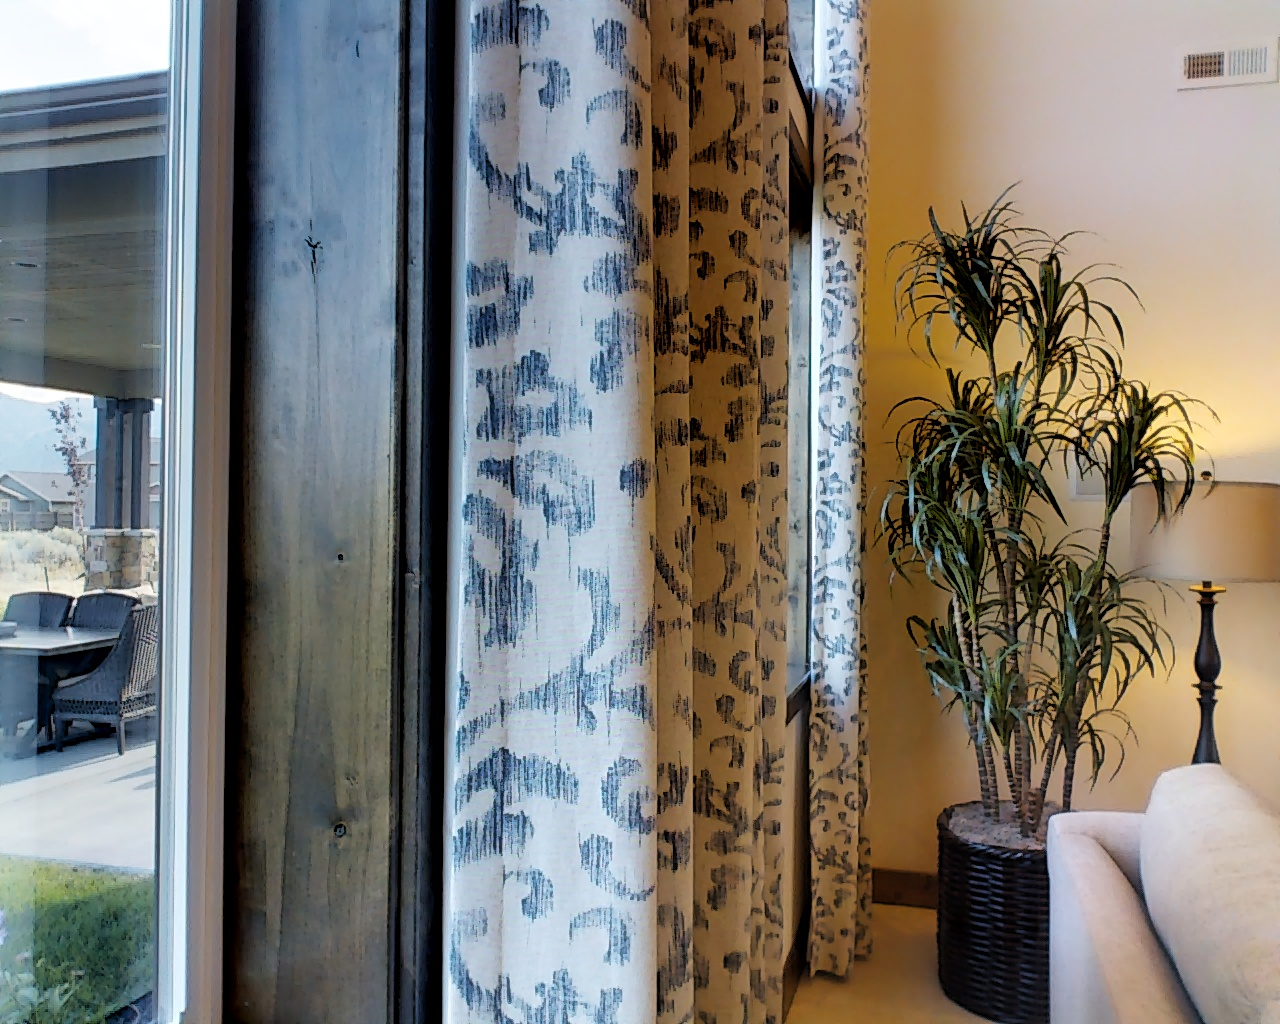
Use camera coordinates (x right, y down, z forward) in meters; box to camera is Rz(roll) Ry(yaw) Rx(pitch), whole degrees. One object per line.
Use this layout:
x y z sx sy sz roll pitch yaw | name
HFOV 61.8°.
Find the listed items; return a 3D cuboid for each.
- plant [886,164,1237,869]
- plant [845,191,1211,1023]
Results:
1.190 0.010 3.150 0.830 1.730 0.840 0 0 18 | plant
1.140 0.310 3.290 0.890 2.230 1.010 0 0 17 | plant
